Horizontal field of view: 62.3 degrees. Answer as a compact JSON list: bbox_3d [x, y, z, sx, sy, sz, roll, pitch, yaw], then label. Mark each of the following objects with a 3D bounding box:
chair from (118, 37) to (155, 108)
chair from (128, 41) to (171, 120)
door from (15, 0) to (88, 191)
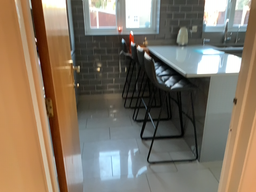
[{"bbox_3d":[0.110,-0.380,3.300,0.480,1.010,0.410,-3,21,-8],"label":"chair"},{"bbox_3d":[0.260,-0.220,2.900,0.490,1.000,0.410,-1,21,-4],"label":"chair"},{"bbox_3d":[-0.370,-0.070,1.200,0.100,2.050,0.750,-2,21,-6],"label":"door"}]
